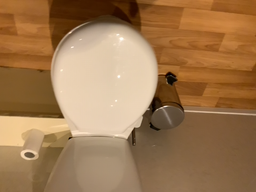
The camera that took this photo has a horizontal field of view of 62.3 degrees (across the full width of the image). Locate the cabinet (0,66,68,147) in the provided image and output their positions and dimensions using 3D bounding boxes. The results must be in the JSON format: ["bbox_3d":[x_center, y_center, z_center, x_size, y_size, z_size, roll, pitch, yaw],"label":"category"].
[{"bbox_3d":[-0.540,0.040,1.030,0.410,0.330,0.220,2,130,-6],"label":"cabinet"}]

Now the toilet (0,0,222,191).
[{"bbox_3d":[-0.110,0.020,0.810,0.420,0.750,0.640,3,130,-6],"label":"toilet"}]
